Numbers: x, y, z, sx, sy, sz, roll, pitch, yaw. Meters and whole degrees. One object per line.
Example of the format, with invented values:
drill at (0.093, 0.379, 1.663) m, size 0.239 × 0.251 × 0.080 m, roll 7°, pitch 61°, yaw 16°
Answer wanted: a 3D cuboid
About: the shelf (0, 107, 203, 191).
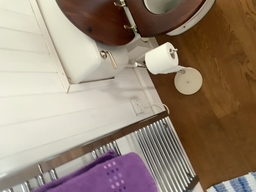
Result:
shelf at (0.050, 0.320, 0.850) m, size 0.080 × 1.020 × 0.410 m, roll -31°, pitch 79°, yaw 30°
